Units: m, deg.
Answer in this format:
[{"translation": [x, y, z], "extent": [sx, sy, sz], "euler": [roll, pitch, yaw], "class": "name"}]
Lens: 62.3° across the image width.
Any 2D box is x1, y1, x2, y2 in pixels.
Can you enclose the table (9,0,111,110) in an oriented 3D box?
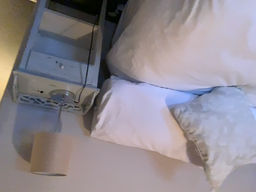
[{"translation": [-0.350, -0.330, 1.210], "extent": [0.390, 0.710, 0.250], "euler": [14, 153, -21], "class": "table"}]
